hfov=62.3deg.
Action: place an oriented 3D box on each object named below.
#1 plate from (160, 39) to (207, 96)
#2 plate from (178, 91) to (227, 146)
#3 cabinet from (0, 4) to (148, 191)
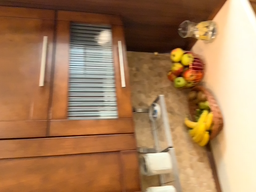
[{"bbox_3d":[0.360,-0.190,1.440,0.200,0.180,0.320,118,149,-62],"label":"plate"},{"bbox_3d":[0.440,0.140,1.290,0.210,0.130,0.280,118,149,-62],"label":"plate"},{"bbox_3d":[-0.330,0.360,0.910,0.340,0.740,1.660,116,150,-60],"label":"cabinet"}]
